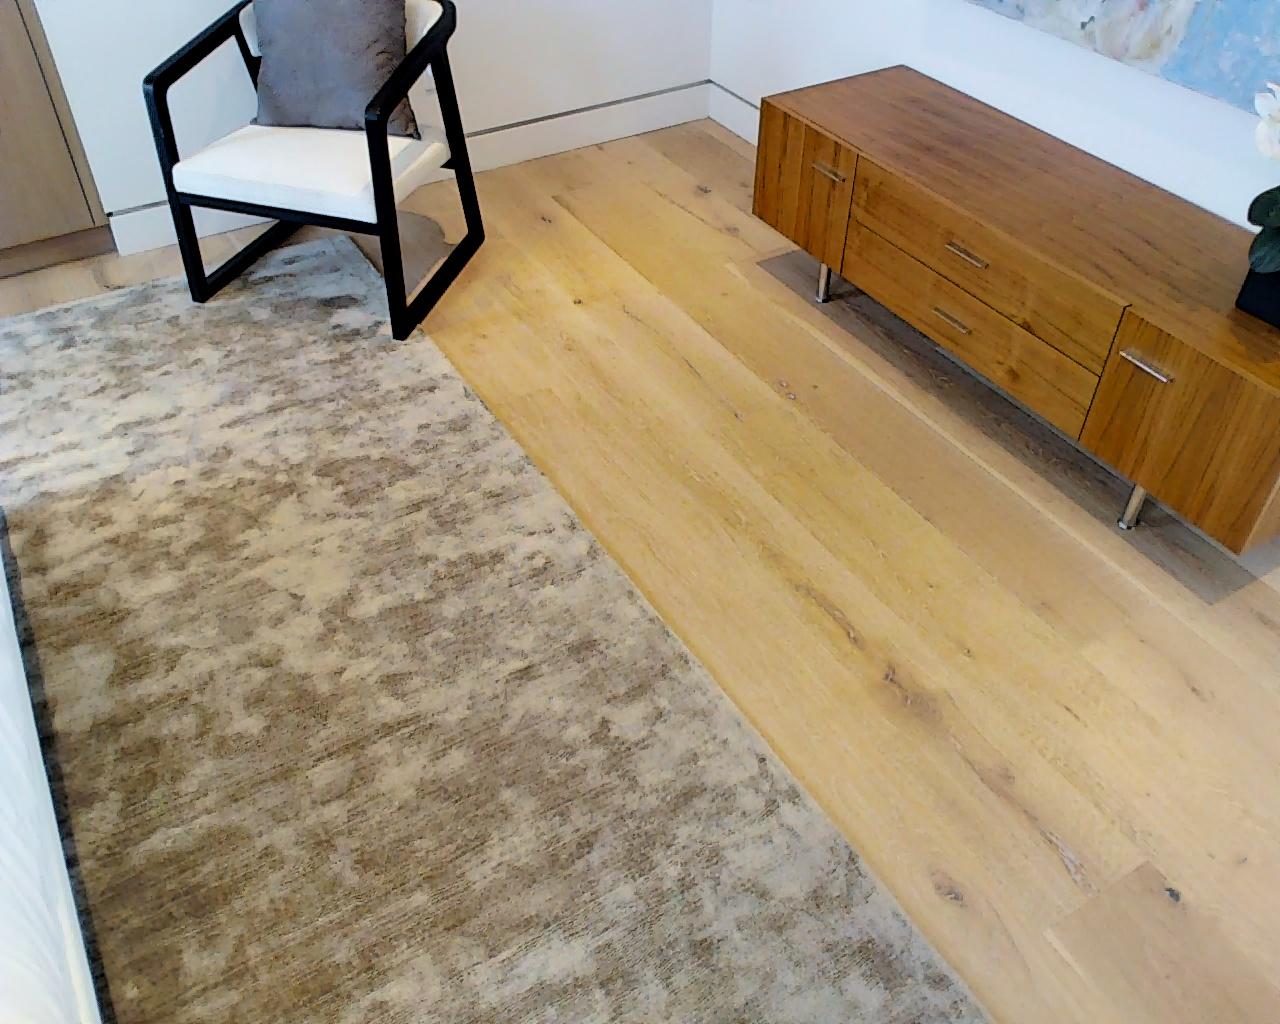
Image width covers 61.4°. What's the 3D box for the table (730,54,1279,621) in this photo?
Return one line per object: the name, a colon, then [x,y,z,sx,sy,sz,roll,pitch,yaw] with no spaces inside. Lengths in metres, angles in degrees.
table: [0.930,-0.550,2.610,0.520,0.490,1.720,-21,46,-22]
